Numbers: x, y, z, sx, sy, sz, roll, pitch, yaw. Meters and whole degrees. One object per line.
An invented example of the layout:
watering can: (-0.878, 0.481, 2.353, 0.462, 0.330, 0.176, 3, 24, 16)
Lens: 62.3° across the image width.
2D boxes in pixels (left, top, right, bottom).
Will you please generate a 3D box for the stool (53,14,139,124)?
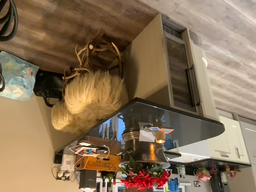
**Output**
stool: (-0.280, -0.190, 1.870, 0.510, 0.680, 0.530, 15, 149, -31)
